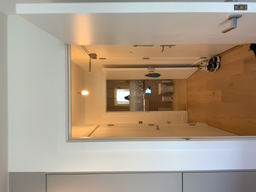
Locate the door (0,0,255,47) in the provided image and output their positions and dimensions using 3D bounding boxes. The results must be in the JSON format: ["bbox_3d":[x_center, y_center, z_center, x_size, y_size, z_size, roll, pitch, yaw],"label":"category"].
[{"bbox_3d":[0.460,-0.410,1.340,0.960,1.990,0.030,-108,17,-86],"label":"door"}]
